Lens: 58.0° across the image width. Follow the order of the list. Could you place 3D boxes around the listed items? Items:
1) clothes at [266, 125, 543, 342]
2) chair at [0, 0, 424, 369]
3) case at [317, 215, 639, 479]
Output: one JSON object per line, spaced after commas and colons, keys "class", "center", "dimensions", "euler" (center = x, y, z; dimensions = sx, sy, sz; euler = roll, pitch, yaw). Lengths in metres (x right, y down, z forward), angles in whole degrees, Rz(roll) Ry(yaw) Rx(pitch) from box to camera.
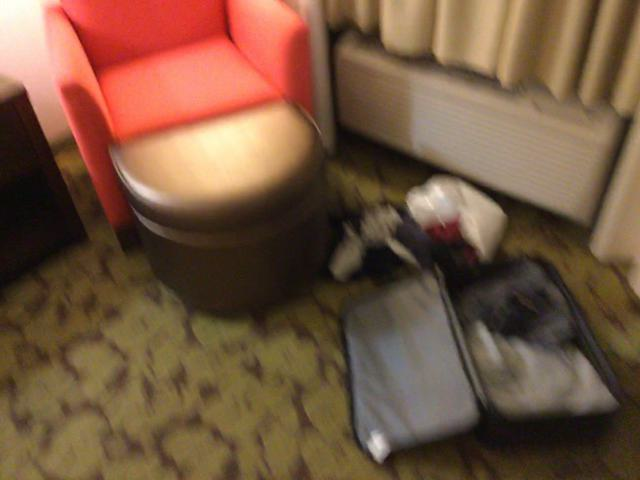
{"class": "clothes", "center": [0.300, -0.080, 1.990], "dimensions": [0.640, 0.130, 0.720], "euler": [26, 51, 28]}
{"class": "chair", "center": [-0.400, -0.470, 1.860], "dimensions": [0.890, 0.880, 1.220], "euler": [-19, 45, -15]}
{"class": "case", "center": [0.390, 0.250, 1.590], "dimensions": [0.750, 0.170, 0.690], "euler": [-5, 43, 0]}
